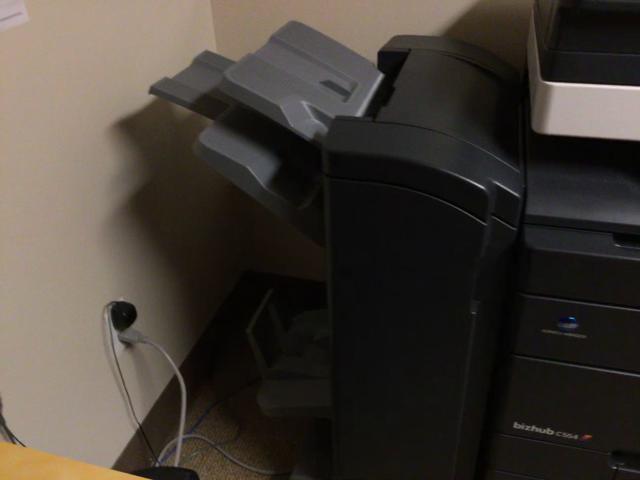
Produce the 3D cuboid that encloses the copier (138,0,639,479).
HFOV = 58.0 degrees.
[{"bbox_3d":[0.440,0.060,1.150,1.120,1.150,0.650,5,35,15],"label":"copier"}]
